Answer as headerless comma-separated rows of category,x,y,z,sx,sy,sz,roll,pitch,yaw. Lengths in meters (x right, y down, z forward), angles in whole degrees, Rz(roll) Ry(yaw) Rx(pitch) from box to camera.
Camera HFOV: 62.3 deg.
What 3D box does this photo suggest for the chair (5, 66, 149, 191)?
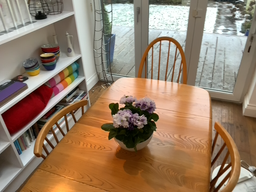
chair,-0.190,0.390,1.230,0.480,0.960,0.440,12,36,20
